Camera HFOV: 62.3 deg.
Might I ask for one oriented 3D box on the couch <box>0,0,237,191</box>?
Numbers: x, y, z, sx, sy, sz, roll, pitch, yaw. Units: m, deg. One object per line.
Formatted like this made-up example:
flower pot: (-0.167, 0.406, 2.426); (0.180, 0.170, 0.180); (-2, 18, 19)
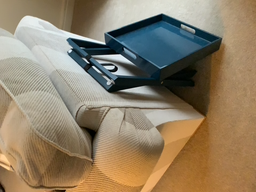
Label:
couch: (-0.370, 0.240, 1.120); (1.090, 0.950, 1.020); (45, 117, 35)
